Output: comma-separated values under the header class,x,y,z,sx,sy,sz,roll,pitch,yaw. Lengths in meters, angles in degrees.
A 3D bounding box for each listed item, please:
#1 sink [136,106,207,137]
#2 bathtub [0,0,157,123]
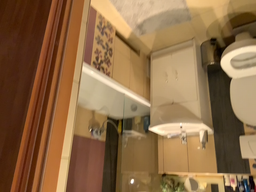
class,x,y,z,sx,sy,sz,roll,pitch,yaw
sink,0.390,0.250,1.900,0.510,0.130,0.400,-12,155,31
bathtub,-0.350,-0.220,2.110,0.670,0.560,1.600,-11,155,30
